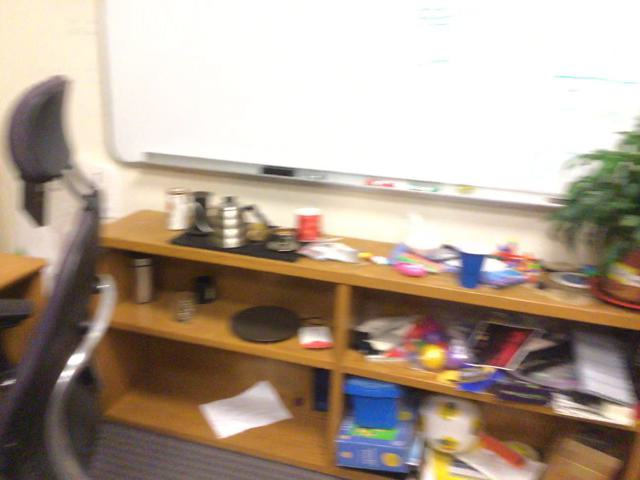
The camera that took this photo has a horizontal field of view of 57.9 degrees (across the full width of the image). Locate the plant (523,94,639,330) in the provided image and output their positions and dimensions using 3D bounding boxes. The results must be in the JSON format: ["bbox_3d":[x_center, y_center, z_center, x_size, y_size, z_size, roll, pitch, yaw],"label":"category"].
[{"bbox_3d":[0.850,-0.090,1.460,0.540,0.490,0.480,7,18,13],"label":"plant"}]

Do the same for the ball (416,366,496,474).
[{"bbox_3d":[0.450,0.590,1.920,0.220,0.240,0.200,7,18,13],"label":"ball"}]

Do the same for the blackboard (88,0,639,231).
[{"bbox_3d":[0.140,-0.690,1.740,1.850,1.160,0.090,7,18,13],"label":"blackboard"}]
